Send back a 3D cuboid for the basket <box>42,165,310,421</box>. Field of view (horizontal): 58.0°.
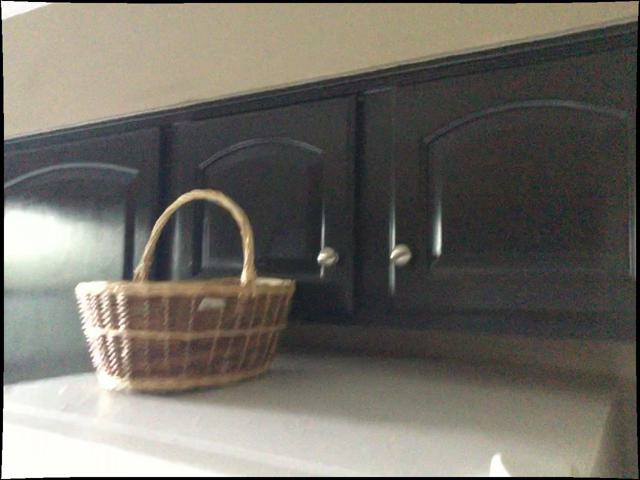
[{"bbox_3d":[-0.190,0.060,0.810,0.240,0.281,0.270,0,-1,31],"label":"basket"}]
